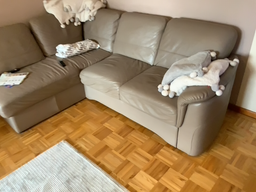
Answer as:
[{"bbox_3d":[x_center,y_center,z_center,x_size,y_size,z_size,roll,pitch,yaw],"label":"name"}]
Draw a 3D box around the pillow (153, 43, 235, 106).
[{"bbox_3d":[0.540,-0.210,1.750,0.500,0.240,0.490,17,39,28],"label":"pillow"}]
